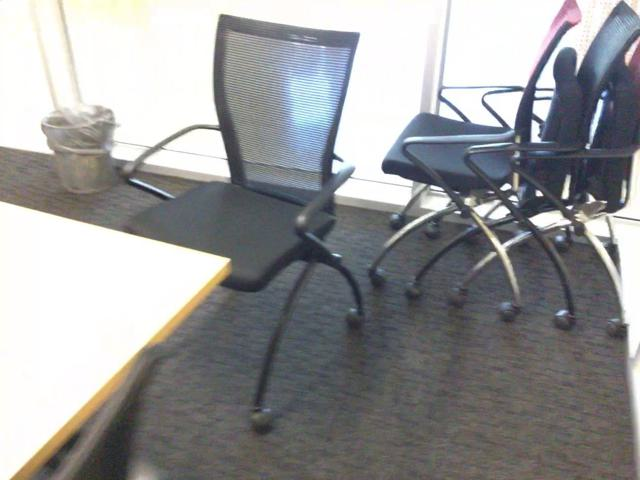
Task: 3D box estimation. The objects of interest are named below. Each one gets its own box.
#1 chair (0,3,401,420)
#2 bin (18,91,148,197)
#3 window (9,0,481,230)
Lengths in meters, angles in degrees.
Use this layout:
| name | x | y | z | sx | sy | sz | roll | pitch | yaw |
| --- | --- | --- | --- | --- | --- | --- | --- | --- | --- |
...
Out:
| name | x | y | z | sx | sy | sz | roll | pitch | yaw |
| --- | --- | --- | --- | --- | --- | --- | --- | --- | --- |
| chair | -0.270 | -0.140 | 1.640 | 0.750 | 0.850 | 0.620 | 16 | 35 | 23 |
| bin | -1.090 | -0.460 | 2.710 | 0.370 | 0.340 | 0.360 | 9 | 33 | 14 |
| window | -0.350 | -0.790 | 2.500 | 1.940 | 1.170 | 0.380 | 9 | 33 | 14 |
